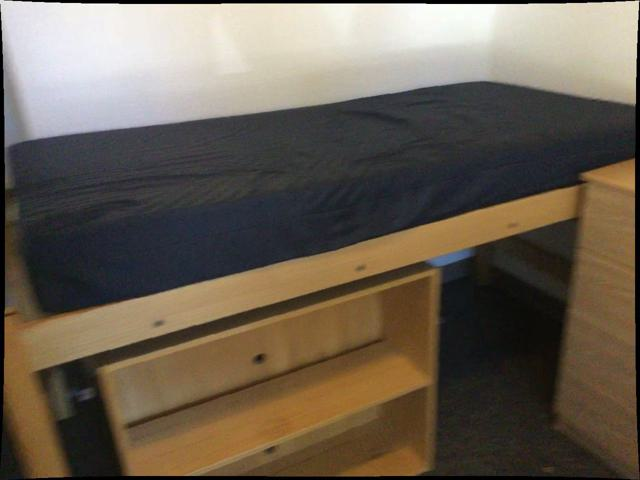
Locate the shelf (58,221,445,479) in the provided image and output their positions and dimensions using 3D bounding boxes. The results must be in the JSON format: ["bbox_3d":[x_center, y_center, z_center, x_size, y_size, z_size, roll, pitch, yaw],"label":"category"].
[{"bbox_3d":[-0.150,0.461,1.700,0.969,0.771,0.360,-14,27,-27],"label":"shelf"}]
